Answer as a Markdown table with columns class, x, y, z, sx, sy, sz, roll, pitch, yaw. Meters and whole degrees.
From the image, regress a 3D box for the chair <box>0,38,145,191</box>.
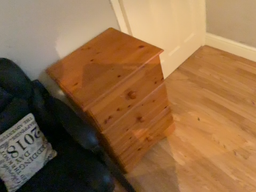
| class | x | y | z | sx | sy | sz | roll | pitch | yaw |
| --- | --- | --- | --- | --- | --- | --- | --- | --- | --- |
| chair | -0.430 | 0.360 | 0.990 | 0.620 | 0.890 | 0.720 | -41 | 47 | -19 |

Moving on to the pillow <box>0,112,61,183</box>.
| class | x | y | z | sx | sy | sz | roll | pitch | yaw |
| --- | --- | --- | --- | --- | --- | --- | --- | --- | --- |
| pillow | -0.500 | 0.250 | 0.980 | 0.060 | 0.250 | 0.290 | 30 | 91 | 45 |
